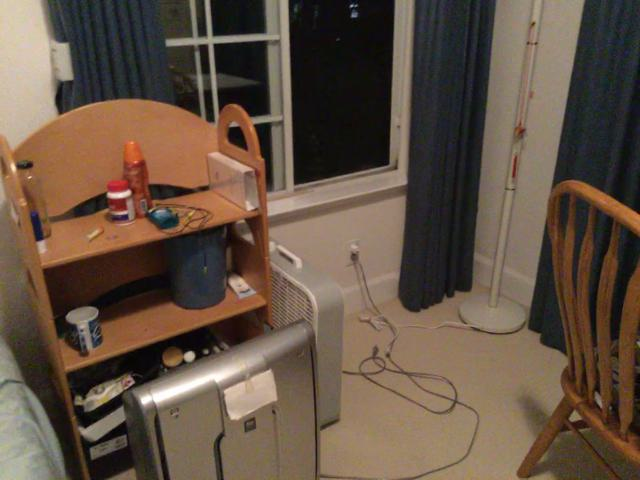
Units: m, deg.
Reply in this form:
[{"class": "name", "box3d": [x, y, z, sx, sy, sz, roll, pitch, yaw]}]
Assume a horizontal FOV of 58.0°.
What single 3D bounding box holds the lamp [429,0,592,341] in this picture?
[{"class": "lamp", "box3d": [0.730, -0.300, 2.330, 0.350, 1.300, 0.400, -13, 23, -30]}]
